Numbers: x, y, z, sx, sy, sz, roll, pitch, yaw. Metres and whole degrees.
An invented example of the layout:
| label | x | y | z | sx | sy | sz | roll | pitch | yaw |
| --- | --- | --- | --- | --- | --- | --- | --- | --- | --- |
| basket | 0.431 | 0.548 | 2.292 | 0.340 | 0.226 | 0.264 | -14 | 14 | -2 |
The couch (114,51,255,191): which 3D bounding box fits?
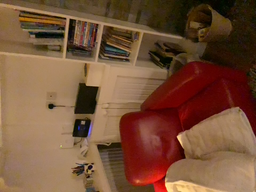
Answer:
| label | x | y | z | sx | sy | sz | roll | pitch | yaw |
| --- | --- | --- | --- | --- | --- | --- | --- | --- | --- |
| couch | 0.470 | 0.310 | 1.650 | 0.890 | 0.790 | 0.840 | 133 | 133 | -54 |
